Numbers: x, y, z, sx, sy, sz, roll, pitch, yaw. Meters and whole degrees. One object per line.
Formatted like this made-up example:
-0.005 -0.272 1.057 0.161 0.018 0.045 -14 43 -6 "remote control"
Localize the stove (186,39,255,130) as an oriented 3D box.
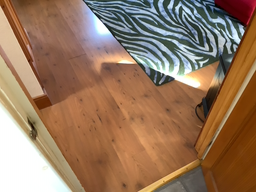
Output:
0.690 -0.060 1.470 0.410 0.550 0.350 0 50 0 "stove"
